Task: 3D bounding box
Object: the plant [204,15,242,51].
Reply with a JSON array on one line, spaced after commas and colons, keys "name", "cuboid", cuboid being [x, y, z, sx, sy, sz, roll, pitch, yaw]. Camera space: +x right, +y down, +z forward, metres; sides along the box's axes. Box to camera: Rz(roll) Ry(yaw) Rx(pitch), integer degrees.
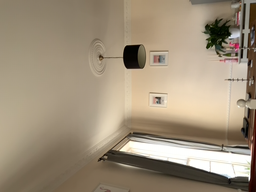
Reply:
[{"name": "plant", "cuboid": [1.830, -1.200, 4.140, 0.380, 0.610, 0.590, -21, -68, -68]}]
